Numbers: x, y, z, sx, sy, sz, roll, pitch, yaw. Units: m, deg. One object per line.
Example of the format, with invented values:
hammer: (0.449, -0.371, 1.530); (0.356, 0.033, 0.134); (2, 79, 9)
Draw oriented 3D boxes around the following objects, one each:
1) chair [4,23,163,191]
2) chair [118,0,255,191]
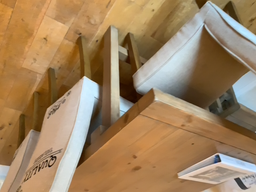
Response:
chair: (-0.220, 0.170, 1.220); (0.410, 0.960, 0.610); (-34, 135, 28)
chair: (0.370, -0.100, 1.000); (0.480, 0.950, 0.640); (21, 133, -31)
